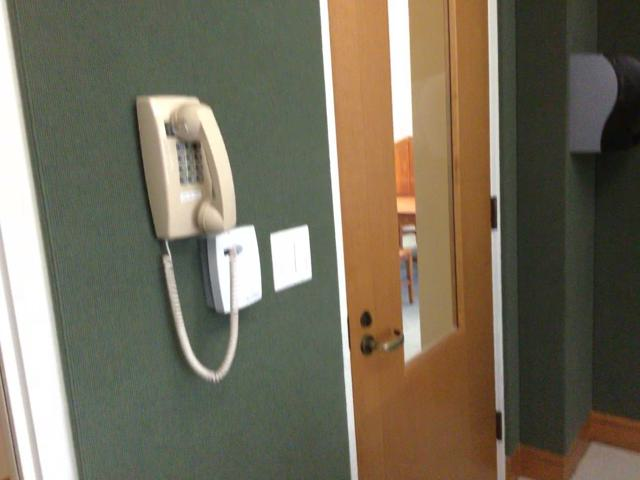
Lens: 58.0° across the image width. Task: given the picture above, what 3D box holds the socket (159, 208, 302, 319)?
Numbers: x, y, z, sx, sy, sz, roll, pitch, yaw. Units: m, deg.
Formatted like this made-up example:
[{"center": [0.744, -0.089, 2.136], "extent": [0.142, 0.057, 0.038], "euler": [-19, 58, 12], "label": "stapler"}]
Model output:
[{"center": [-0.150, 0.030, 1.010], "extent": [0.120, 0.150, 0.210], "euler": [3, 11, 39], "label": "socket"}]

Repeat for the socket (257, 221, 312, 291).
[{"center": [-0.070, 0.030, 1.180], "extent": [0.020, 0.120, 0.130], "euler": [3, 11, 39], "label": "socket"}]
